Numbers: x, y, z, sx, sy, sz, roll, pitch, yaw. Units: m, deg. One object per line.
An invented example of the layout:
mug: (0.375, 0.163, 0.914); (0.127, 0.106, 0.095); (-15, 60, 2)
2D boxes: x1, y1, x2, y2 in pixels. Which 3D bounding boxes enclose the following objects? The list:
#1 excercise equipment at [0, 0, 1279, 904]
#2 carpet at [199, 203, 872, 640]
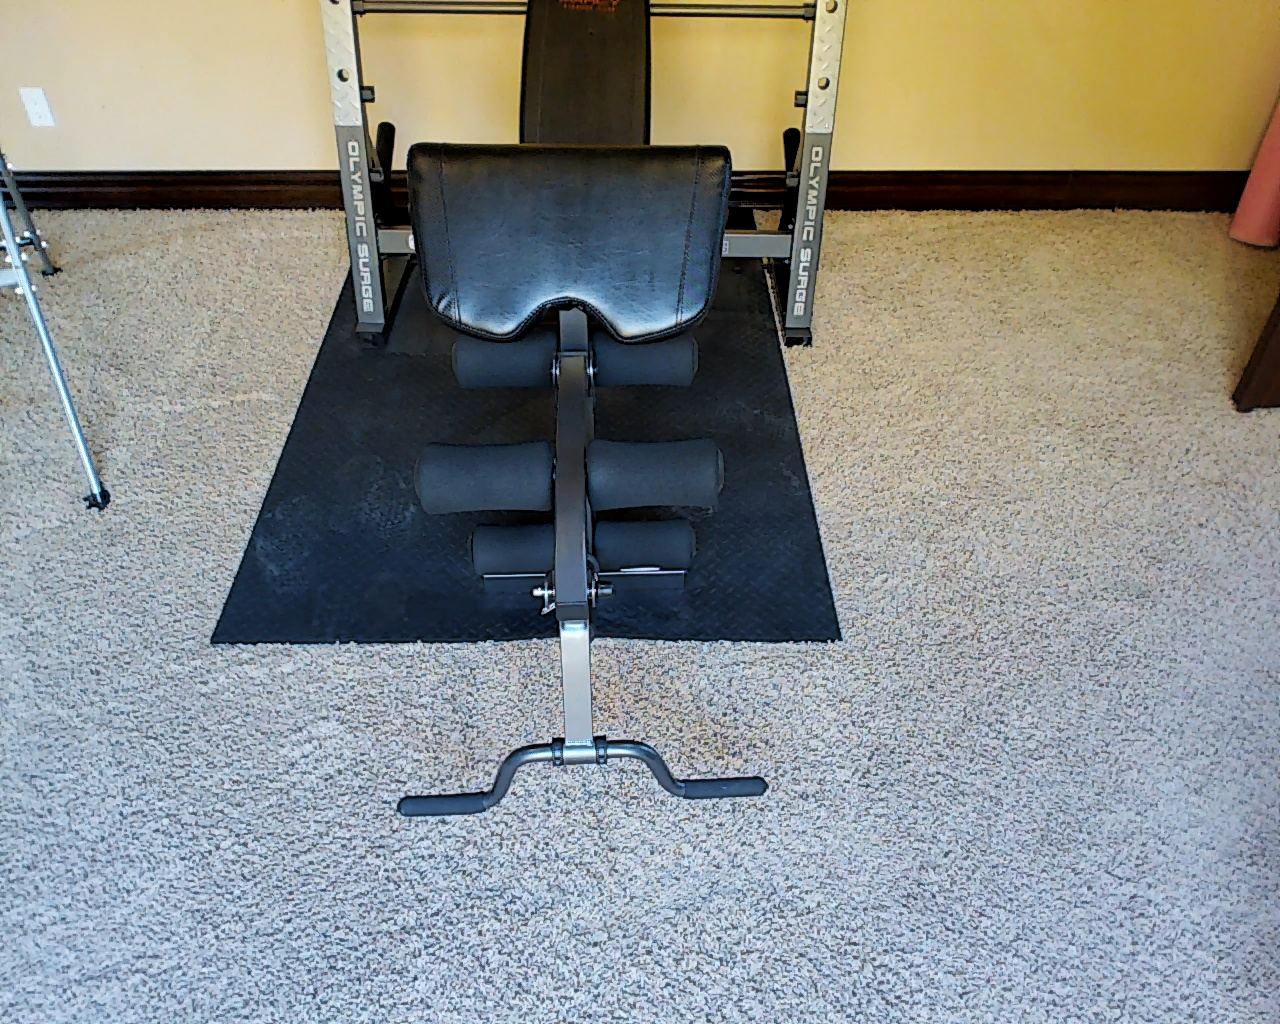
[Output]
excercise equipment: (-0.100, -0.680, 1.920); (1.281, 1.500, 2.130); (0, 42, -2)
carpet: (-0.190, -0.360, 2.680); (1.271, 0.001, 1.770); (1, 42, 0)
